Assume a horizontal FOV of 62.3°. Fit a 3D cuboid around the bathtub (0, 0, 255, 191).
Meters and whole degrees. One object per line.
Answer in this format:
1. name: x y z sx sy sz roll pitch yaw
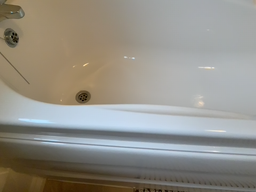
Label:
1. bathtub: 0.370 -0.030 0.780 1.710 0.540 0.710 4 56 5
